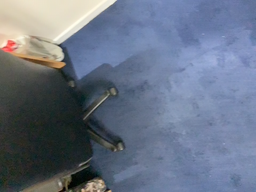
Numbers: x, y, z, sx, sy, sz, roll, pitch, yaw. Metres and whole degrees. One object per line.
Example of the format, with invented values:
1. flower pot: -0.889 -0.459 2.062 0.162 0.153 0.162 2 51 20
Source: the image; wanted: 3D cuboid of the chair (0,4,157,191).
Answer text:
1. chair: -0.490 0.150 1.020 0.750 1.010 0.670 -31 78 24
